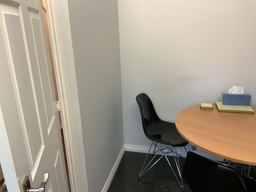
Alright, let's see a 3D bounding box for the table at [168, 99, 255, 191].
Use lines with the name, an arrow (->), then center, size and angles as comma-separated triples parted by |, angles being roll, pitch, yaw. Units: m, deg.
table -> 0.860, 0.570, 1.750 | 1.010, 0.750, 1.020 | 3, 19, 11
